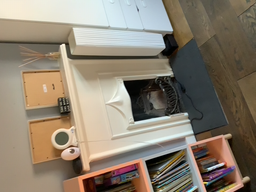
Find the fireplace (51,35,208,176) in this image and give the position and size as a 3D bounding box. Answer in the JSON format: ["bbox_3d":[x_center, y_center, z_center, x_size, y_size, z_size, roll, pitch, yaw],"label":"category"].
[{"bbox_3d":[0.020,0.010,1.700,0.260,1.040,0.930,-41,60,55],"label":"fireplace"}]
